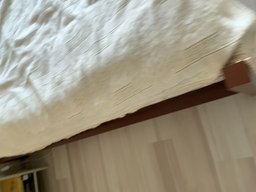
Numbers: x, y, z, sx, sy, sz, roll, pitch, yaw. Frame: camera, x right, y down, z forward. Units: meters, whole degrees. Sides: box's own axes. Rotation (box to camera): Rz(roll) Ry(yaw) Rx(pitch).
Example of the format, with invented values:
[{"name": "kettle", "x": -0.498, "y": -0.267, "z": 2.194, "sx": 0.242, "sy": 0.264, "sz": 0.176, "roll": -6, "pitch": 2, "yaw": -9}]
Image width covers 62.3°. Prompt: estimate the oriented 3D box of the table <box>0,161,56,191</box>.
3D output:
[{"name": "table", "x": -0.920, "y": 0.910, "z": 1.820, "sx": 0.390, "sy": 0.430, "sz": 0.540, "roll": -24, "pitch": 75, "yaw": 31}]
